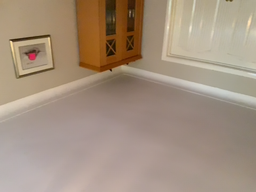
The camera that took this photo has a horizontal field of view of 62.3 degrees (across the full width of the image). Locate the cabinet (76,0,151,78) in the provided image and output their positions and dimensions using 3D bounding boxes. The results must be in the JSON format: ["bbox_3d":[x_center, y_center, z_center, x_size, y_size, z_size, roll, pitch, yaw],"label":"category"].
[{"bbox_3d":[-0.160,-1.440,2.980,0.500,2.110,1.050,19,-149,32],"label":"cabinet"}]
